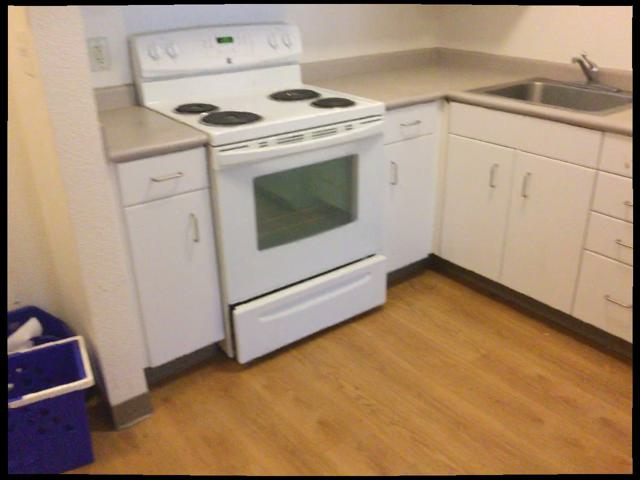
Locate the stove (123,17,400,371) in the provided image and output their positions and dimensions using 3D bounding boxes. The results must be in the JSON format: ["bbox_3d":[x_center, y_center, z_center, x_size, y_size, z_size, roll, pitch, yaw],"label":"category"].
[{"bbox_3d":[-0.220,-0.260,2.430,0.739,1.172,0.780,-20,31,-32],"label":"stove"}]

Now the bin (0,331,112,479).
[{"bbox_3d":[-0.938,0.561,1.790,0.439,0.320,0.290,-18,30,-28],"label":"bin"}]
